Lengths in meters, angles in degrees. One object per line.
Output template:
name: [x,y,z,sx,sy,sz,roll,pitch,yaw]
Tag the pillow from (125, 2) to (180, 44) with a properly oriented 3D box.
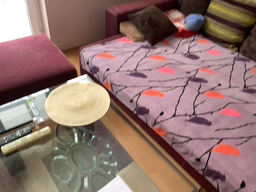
pillow: [0.250,-0.780,2.220,0.410,0.230,0.370,-29,52,-33]
